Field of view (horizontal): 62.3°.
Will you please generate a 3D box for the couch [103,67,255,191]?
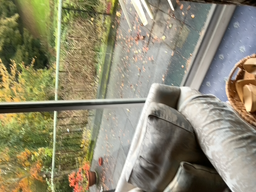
[{"bbox_3d":[0.470,0.880,1.640,1.140,0.900,1.850,-122,38,-46],"label":"couch"}]
